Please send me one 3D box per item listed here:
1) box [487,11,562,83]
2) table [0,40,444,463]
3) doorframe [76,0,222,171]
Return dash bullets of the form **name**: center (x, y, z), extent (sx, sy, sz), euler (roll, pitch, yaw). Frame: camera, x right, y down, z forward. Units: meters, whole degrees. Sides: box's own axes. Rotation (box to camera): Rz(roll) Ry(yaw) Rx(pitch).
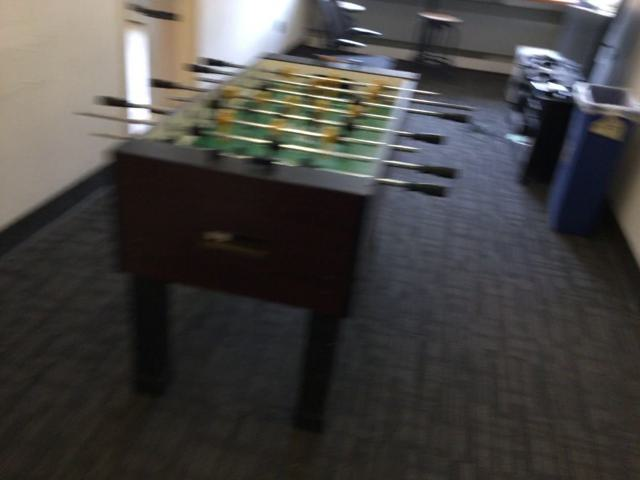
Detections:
- **box**: center (1.900, -1.820, 5.430), extent (0.470, 0.520, 0.510), euler (6, 29, 4)
- **table**: center (-0.180, -0.140, 2.240), extent (1.160, 0.870, 1.480), euler (8, 29, 7)
- **doorframe**: center (-0.950, -1.520, 3.310), extent (0.440, 1.990, 0.950), euler (8, 29, 8)
